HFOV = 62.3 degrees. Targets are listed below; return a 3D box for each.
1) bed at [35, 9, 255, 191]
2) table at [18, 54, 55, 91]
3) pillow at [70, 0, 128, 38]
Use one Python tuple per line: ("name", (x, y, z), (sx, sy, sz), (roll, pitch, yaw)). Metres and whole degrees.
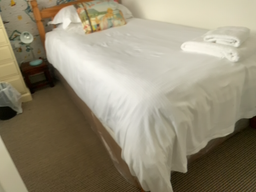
("bed", (-0.020, -0.300, 1.960), (1.070, 0.610, 2.130), (-21, 34, -24))
("table", (-1.060, -0.280, 2.450), (0.280, 0.270, 0.330), (-21, 34, -24))
("pillow", (-0.280, -0.830, 2.120), (0.520, 0.150, 0.350), (-26, -8, -11))
